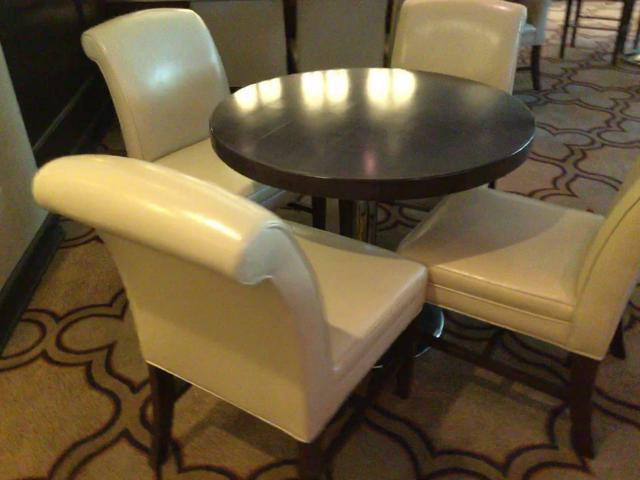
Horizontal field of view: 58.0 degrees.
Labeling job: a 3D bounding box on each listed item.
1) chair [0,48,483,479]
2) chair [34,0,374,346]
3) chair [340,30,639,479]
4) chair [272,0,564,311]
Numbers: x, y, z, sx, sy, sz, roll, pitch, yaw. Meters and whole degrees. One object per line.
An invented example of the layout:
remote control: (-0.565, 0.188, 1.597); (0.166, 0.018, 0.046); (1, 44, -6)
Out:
chair: (-0.120, 0.160, 1.350); (0.600, 0.930, 0.850); (19, 39, 31)
chair: (-0.370, -0.330, 2.150); (0.920, 0.950, 0.660); (21, 40, 33)
chair: (0.570, 0.000, 1.530); (0.830, 0.880, 0.560); (19, 39, 31)
chair: (0.390, -0.440, 2.180); (0.680, 0.940, 0.840); (17, 38, 29)
